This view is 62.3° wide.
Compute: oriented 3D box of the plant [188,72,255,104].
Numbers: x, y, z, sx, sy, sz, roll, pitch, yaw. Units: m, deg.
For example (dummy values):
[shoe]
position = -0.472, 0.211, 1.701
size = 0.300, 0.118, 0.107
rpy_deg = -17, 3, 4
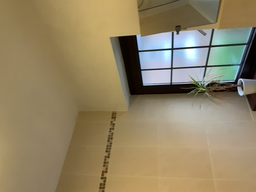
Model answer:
[plant]
position = 0.800, -0.070, 1.870
size = 0.210, 0.500, 0.170
rpy_deg = 79, -167, -46
